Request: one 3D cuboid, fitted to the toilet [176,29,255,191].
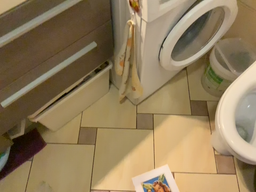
[{"bbox_3d":[0.640,-0.020,0.890,0.650,0.830,0.380,-40,69,-19],"label":"toilet"}]
